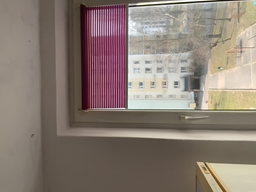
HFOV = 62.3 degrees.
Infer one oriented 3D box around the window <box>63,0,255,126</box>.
[{"bbox_3d":[0.330,-0.230,1.240,0.100,1.440,0.780,9,-99,-82],"label":"window"}]
